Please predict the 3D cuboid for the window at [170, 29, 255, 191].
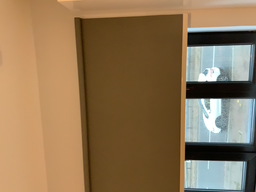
[{"bbox_3d":[0.730,0.220,1.750,0.160,0.690,1.460,-63,-27,-77],"label":"window"}]
